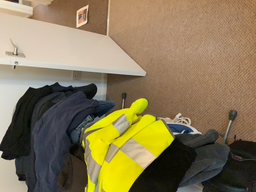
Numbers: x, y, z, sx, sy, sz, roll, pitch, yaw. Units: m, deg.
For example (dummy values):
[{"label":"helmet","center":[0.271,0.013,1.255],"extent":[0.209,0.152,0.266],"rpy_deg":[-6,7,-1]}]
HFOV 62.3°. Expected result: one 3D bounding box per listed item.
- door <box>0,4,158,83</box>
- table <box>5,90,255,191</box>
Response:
[{"label":"door","center":[-0.740,-0.380,1.300],"extent":[0.740,2.100,0.070],"rpy_deg":[53,127,34]},{"label":"table","center":[-0.070,0.270,1.340],"extent":[1.520,0.940,0.490],"rpy_deg":[8,96,49]}]
